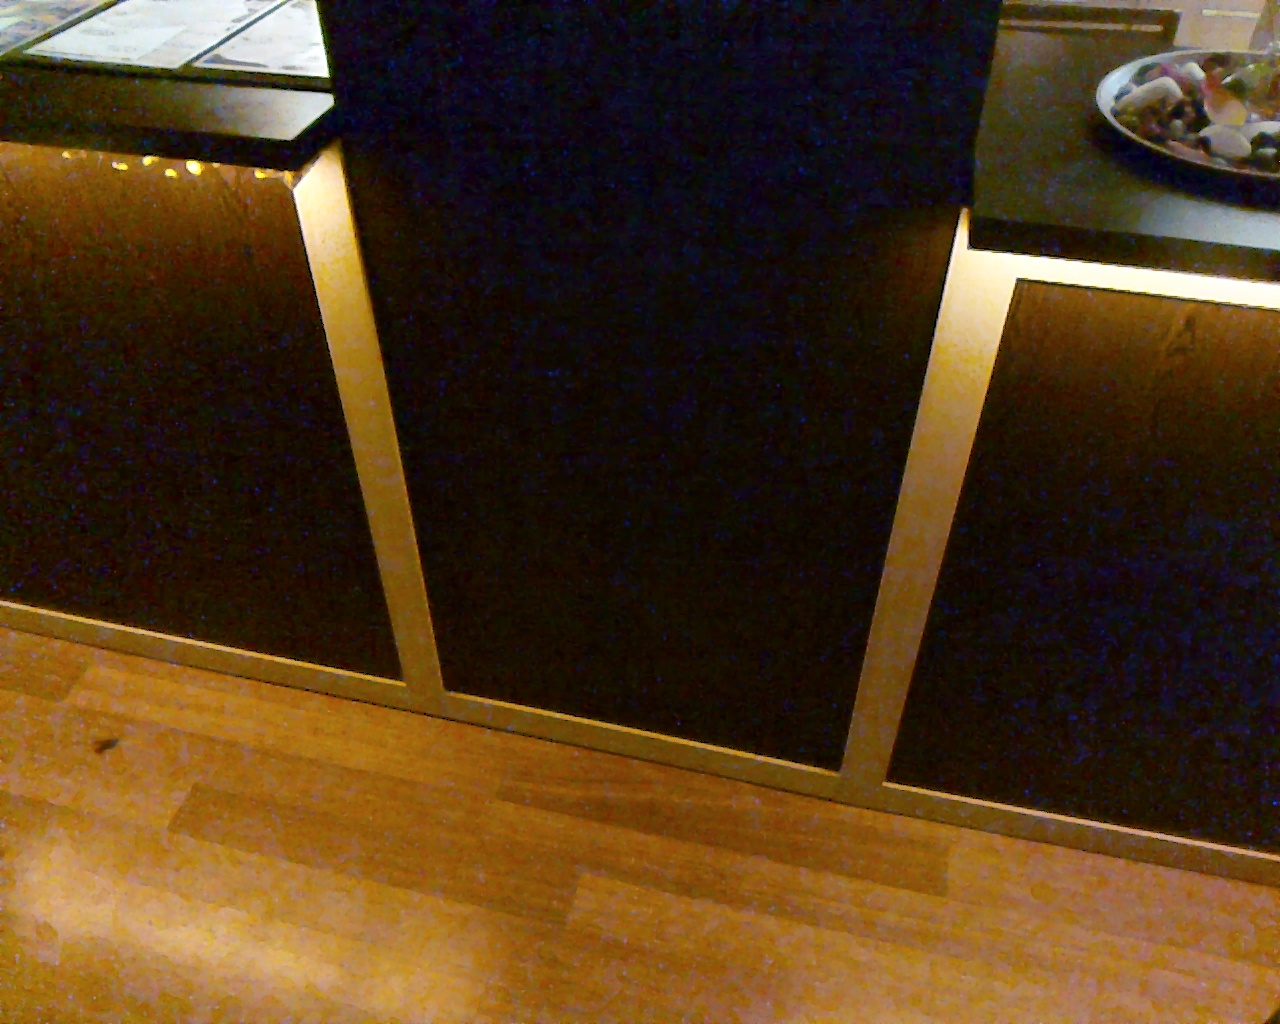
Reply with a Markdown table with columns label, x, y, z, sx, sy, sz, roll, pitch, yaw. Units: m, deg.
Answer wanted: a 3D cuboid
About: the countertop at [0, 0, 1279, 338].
| label | x | y | z | sx | sy | sz | roll | pitch | yaw |
| --- | --- | --- | --- | --- | --- | --- | --- | --- | --- |
| countertop | 0.030 | -0.650 | 1.470 | 3.310 | 0.110 | 0.990 | 10 | 43 | 10 |
